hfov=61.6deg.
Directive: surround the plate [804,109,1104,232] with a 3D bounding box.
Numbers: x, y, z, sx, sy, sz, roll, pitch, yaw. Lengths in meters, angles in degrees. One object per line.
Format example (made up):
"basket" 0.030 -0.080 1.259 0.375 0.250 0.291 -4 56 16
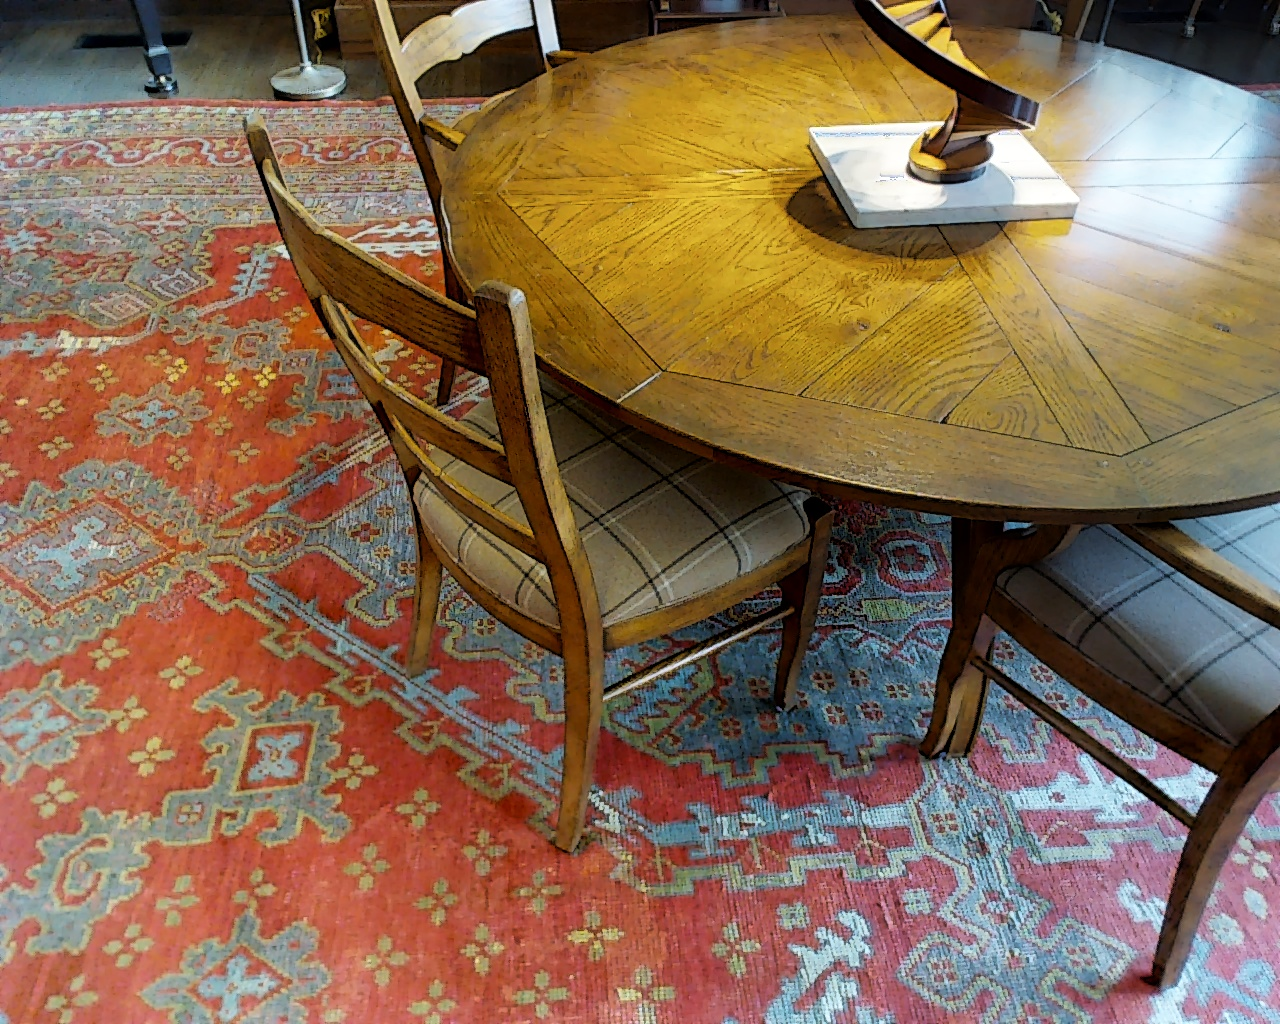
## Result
"plate" 0.500 -0.570 1.770 0.380 0.030 0.360 -4 43 -6
